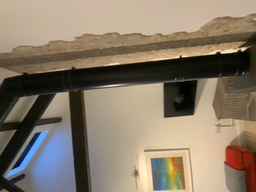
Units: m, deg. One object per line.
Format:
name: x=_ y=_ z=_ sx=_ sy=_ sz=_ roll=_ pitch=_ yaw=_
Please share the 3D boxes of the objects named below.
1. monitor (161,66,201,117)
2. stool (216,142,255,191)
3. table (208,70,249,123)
monitor: x=0.880 y=-0.040 z=3.650 sx=0.080 sy=0.590 sz=1.030 roll=-88 pitch=-8 yaw=-49
stool: x=1.860 y=1.310 z=3.510 sx=0.650 sy=0.480 sz=0.970 roll=40 pitch=-134 yaw=-83
table: x=1.620 y=0.020 z=3.500 sx=0.480 sy=0.350 sz=0.720 roll=-89 pitch=-7 yaw=-46
